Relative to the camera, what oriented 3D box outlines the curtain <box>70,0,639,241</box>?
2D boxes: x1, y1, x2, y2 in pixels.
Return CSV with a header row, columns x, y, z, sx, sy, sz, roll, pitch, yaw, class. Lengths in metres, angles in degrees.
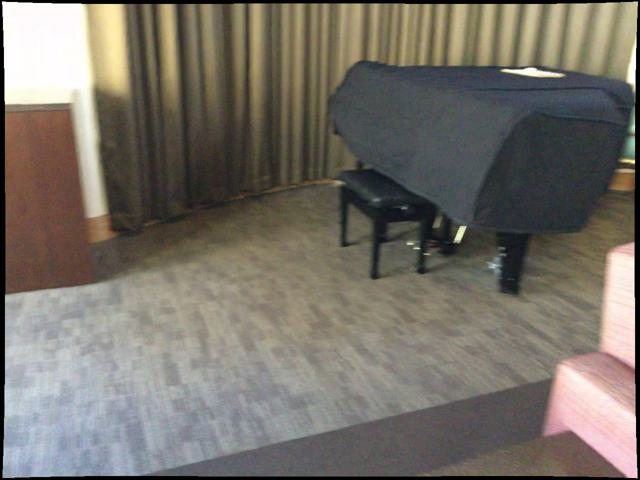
x,y,z,sx,sy,sz,roll,pitch,yaw,class
0.549,-1.201,4.060,4.166,1.832,0.710,-7,20,-22,curtain
